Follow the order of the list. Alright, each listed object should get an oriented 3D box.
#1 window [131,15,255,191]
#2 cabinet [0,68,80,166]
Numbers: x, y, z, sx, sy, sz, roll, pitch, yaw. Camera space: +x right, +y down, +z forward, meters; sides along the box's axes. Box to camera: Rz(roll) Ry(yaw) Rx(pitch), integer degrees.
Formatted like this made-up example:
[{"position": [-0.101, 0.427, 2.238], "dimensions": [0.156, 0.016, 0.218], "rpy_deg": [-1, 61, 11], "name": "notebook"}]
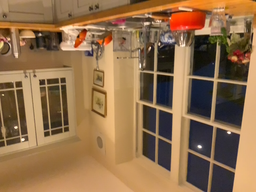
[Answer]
[{"position": [0.550, 0.190, 2.220], "dimensions": [0.130, 1.790, 1.610], "rpy_deg": [-9, -164, -33], "name": "window"}, {"position": [-1.200, 0.210, 2.640], "dimensions": [1.090, 1.010, 0.340], "rpy_deg": [-9, -164, -35], "name": "cabinet"}]
